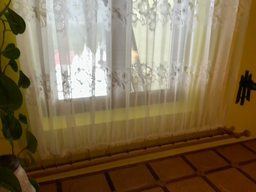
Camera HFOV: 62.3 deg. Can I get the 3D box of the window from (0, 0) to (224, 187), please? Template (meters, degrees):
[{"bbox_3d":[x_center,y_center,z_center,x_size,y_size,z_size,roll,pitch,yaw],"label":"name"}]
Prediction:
[{"bbox_3d":[-0.040,-0.180,1.320,1.380,1.250,0.150,-7,-159,-23],"label":"window"}]
